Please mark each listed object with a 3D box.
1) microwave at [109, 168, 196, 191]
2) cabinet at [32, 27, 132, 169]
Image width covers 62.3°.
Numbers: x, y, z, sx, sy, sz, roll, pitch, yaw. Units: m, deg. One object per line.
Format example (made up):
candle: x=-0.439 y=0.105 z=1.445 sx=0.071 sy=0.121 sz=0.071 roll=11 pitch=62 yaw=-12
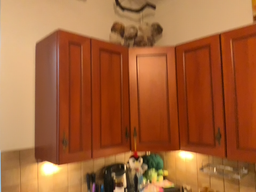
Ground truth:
microwave: x=0.200 y=0.820 z=1.630 sx=0.580 sy=0.330 sz=0.370 roll=1 pitch=-4 yaw=-41
cabinet: x=-0.290 y=0.020 z=1.380 sx=0.520 sy=0.720 sz=0.350 roll=2 pitch=-4 yaw=-45
